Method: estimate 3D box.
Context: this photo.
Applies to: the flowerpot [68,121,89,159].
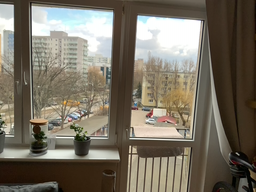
[{"bbox_3d":[-0.470,0.410,2.040,0.160,0.280,0.290,3,7,-7],"label":"flowerpot"}]
